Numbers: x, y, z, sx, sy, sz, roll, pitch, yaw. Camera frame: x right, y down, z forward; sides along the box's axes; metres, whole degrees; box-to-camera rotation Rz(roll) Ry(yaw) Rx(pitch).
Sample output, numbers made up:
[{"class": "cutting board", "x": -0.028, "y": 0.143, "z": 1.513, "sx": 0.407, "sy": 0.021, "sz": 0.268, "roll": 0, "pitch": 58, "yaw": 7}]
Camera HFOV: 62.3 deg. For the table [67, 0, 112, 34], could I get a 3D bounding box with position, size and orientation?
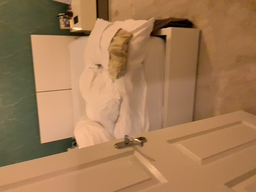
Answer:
[{"class": "table", "x": -0.570, "y": -1.240, "z": 3.070, "sx": 0.580, "sy": 0.460, "sz": 0.610, "roll": 22, "pitch": 115, "yaw": 56}]
